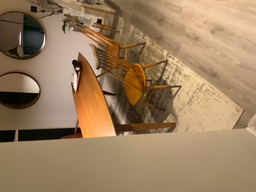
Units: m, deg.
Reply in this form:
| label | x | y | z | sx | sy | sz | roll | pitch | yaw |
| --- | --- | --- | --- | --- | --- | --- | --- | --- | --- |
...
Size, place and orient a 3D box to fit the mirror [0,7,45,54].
| label | x | y | z | sx | sy | sz | roll | pitch | yaw |
| --- | --- | --- | --- | --- | --- | --- | --- | --- | --- |
| mirror | -1.770 | -1.050 | 3.480 | 0.080 | 0.690 | 0.660 | 56 | 135 | 48 |
